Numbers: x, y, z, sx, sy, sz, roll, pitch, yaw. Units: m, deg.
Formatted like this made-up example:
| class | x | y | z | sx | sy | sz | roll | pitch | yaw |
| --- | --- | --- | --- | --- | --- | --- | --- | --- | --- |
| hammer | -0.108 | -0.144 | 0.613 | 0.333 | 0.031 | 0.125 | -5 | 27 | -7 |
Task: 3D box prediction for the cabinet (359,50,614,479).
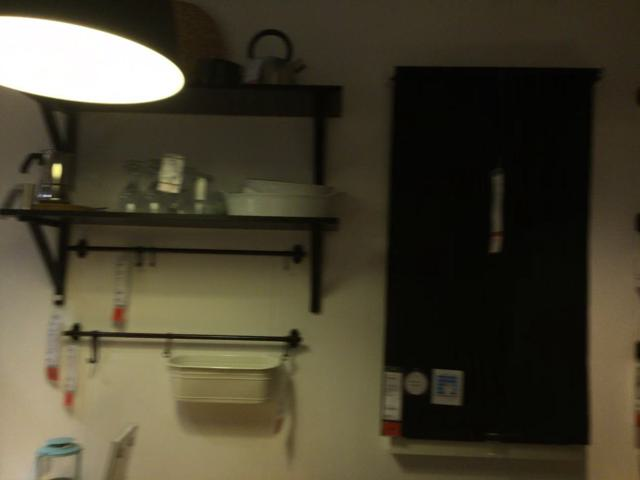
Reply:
| class | x | y | z | sx | sy | sz | roll | pitch | yaw |
| --- | --- | --- | --- | --- | --- | --- | --- | --- | --- |
| cabinet | 0.510 | 0.070 | 1.800 | 0.700 | 1.280 | 0.160 | 3 | -6 | 4 |
